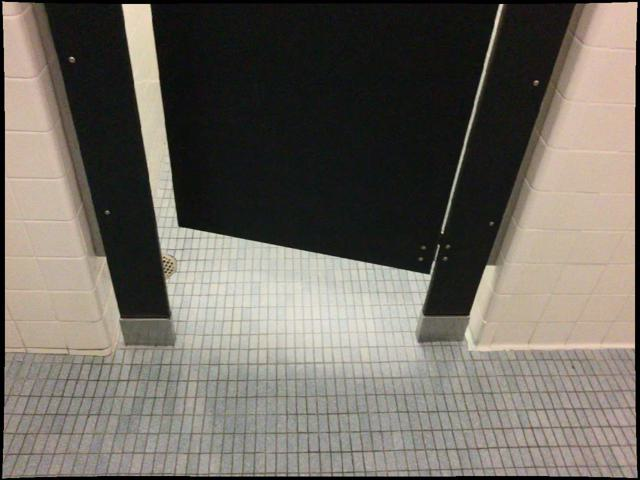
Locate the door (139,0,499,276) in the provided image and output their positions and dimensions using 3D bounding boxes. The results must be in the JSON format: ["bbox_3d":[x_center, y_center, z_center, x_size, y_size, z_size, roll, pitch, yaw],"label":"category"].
[{"bbox_3d":[-0.030,-0.251,1.280,0.678,0.691,0.070,9,41,6],"label":"door"}]
